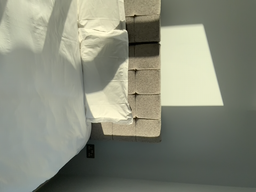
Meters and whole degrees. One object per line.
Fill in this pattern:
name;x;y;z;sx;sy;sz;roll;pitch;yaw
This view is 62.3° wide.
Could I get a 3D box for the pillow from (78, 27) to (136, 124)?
pillow;-0.190;-0.170;1.940;0.170;0.500;0.830;-176;-93;-81
